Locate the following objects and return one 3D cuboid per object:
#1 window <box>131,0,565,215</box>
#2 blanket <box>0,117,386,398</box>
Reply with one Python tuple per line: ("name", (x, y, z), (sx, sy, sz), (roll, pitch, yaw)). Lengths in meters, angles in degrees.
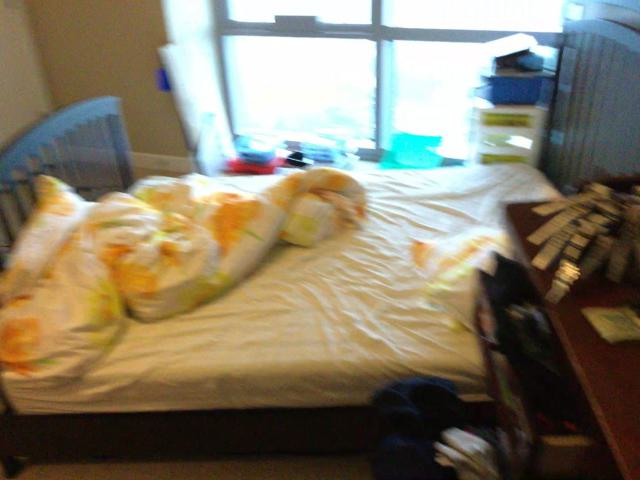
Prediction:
("window", (0.170, -1.070, 3.270), (2.110, 1.190, 1.040), (11, 34, 23))
("blanket", (-0.400, -0.020, 1.950), (1.170, 0.400, 1.090), (-1, 31, 3))
